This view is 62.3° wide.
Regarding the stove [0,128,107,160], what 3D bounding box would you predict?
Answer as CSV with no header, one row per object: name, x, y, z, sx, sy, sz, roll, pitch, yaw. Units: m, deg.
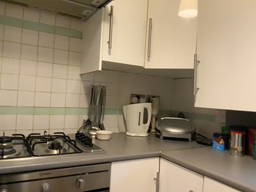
stove,-0.490,0.240,1.160,0.580,0.030,0.530,4,0,-30
